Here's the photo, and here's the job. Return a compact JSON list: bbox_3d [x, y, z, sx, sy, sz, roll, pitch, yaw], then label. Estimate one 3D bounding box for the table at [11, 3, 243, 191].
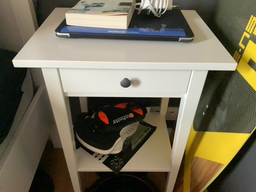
[{"bbox_3d":[-0.010,0.080,0.790,0.470,0.690,0.370,2,39,-1],"label":"table"}]
